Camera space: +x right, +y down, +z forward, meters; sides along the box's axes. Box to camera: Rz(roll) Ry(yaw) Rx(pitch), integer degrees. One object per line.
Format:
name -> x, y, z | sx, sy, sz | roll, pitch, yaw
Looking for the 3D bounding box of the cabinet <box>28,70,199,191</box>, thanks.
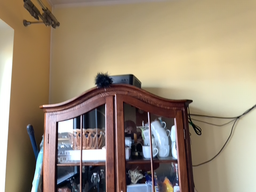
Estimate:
cabinet -> -0.070, 0.460, 1.310 | 0.870, 1.110, 0.460 | -2, -9, 4
